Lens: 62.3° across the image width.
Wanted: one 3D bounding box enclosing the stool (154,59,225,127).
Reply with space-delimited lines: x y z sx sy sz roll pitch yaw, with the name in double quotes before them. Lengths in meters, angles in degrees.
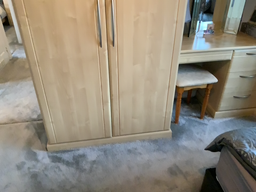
"stool" 0.570 -0.050 2.120 0.450 0.460 0.460 -7 32 -12
